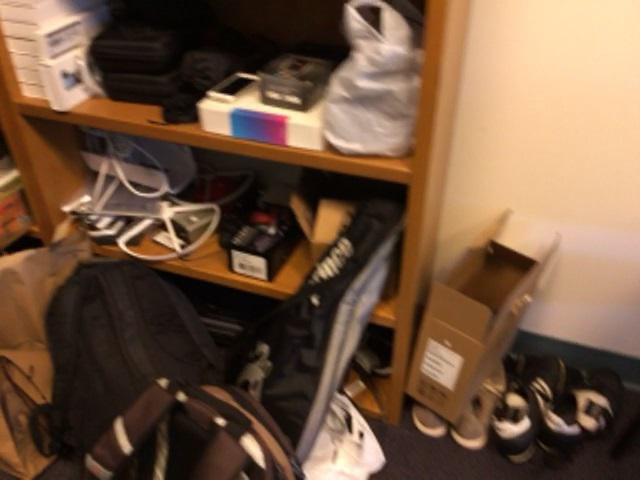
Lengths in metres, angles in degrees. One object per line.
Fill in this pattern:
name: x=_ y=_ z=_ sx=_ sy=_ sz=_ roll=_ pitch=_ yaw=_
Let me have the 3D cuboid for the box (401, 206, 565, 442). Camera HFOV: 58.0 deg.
box: x=0.360 y=0.180 z=1.300 sx=0.180 sy=0.380 sz=0.320 roll=24 pitch=40 yaw=27

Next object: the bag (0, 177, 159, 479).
bag: x=-0.700 y=0.200 z=1.310 sx=0.410 sy=0.470 sz=0.460 roll=14 pitch=36 yaw=15
